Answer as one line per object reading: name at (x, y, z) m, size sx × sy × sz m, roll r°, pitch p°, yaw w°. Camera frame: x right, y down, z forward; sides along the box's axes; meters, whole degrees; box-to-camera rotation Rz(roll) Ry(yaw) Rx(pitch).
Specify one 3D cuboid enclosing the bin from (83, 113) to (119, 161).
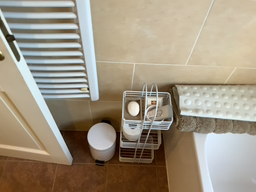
bin at (-0.160, 0.260, 1.320) m, size 0.180 × 0.230 × 0.210 m, roll 4°, pitch 56°, yaw -2°
